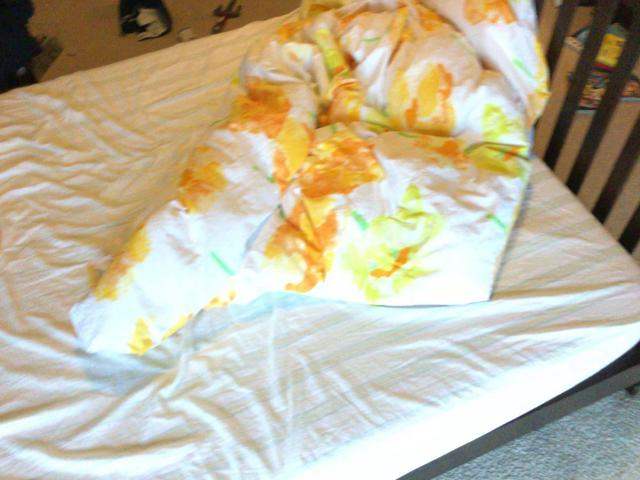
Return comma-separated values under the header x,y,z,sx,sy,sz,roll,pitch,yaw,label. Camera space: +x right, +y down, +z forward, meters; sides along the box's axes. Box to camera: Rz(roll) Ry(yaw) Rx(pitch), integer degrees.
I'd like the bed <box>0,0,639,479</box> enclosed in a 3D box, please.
x,y,z,sx,sy,sz,roll,pitch,yaw,label
-0.400,-0.150,1.100,2.050,1.270,1.630,-19,55,-8,bed
